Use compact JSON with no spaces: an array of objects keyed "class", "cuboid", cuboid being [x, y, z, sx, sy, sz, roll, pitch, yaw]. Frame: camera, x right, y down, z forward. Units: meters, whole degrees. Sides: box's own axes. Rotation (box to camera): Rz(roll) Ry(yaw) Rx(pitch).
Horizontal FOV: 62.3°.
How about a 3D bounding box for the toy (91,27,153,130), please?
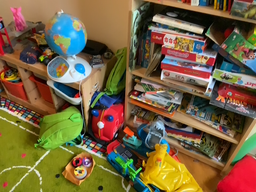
[{"class":"toy","cuboid":[-0.040,-0.140,1.700,0.240,0.630,0.480,20,44,17]}]
